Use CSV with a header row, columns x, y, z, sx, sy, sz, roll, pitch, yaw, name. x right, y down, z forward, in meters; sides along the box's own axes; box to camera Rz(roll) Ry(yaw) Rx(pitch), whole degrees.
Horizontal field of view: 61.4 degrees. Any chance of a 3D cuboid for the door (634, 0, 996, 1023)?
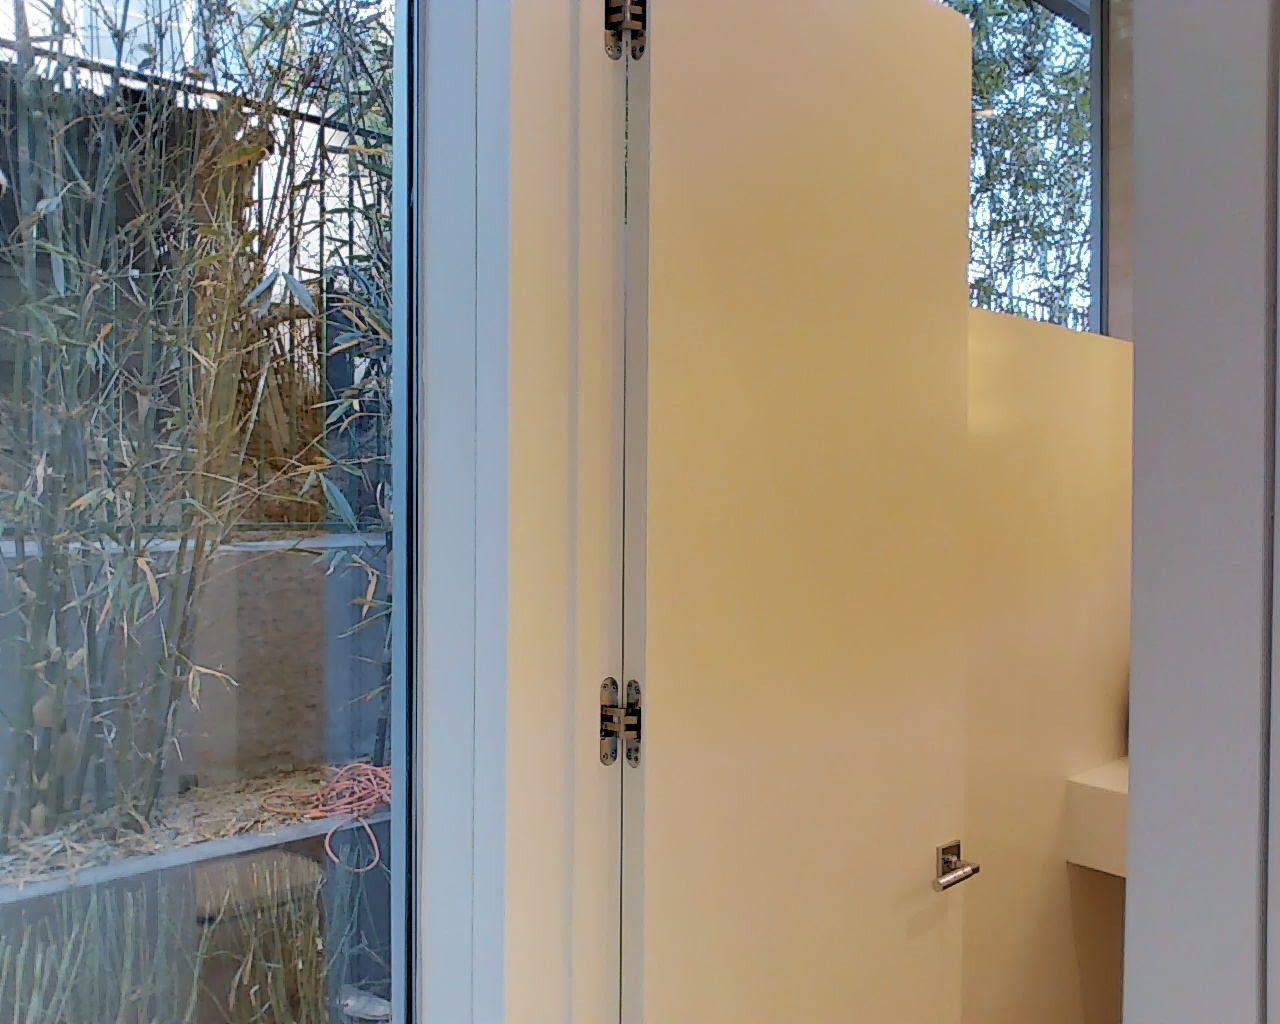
x,y,z,sx,sy,sz,roll,pitch,yaw,name
0.320,0.290,1.710,0.840,2.470,0.060,-1,1,-43,door
